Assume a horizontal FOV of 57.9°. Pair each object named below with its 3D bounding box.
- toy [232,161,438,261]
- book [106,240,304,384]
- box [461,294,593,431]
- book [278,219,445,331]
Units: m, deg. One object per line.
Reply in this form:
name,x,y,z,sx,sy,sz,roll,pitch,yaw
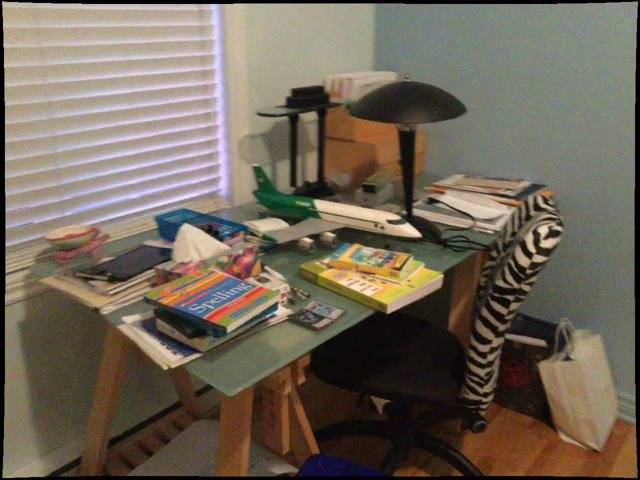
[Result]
toy,0.030,-0.110,1.770,0.590,0.110,0.260,19,29,37
book,-0.240,0.130,1.210,0.340,0.110,0.240,19,29,37
box,0.749,0.430,2.110,0.350,0.300,0.270,16,28,33
book,0.100,0.070,1.430,0.320,0.110,0.250,19,29,37
